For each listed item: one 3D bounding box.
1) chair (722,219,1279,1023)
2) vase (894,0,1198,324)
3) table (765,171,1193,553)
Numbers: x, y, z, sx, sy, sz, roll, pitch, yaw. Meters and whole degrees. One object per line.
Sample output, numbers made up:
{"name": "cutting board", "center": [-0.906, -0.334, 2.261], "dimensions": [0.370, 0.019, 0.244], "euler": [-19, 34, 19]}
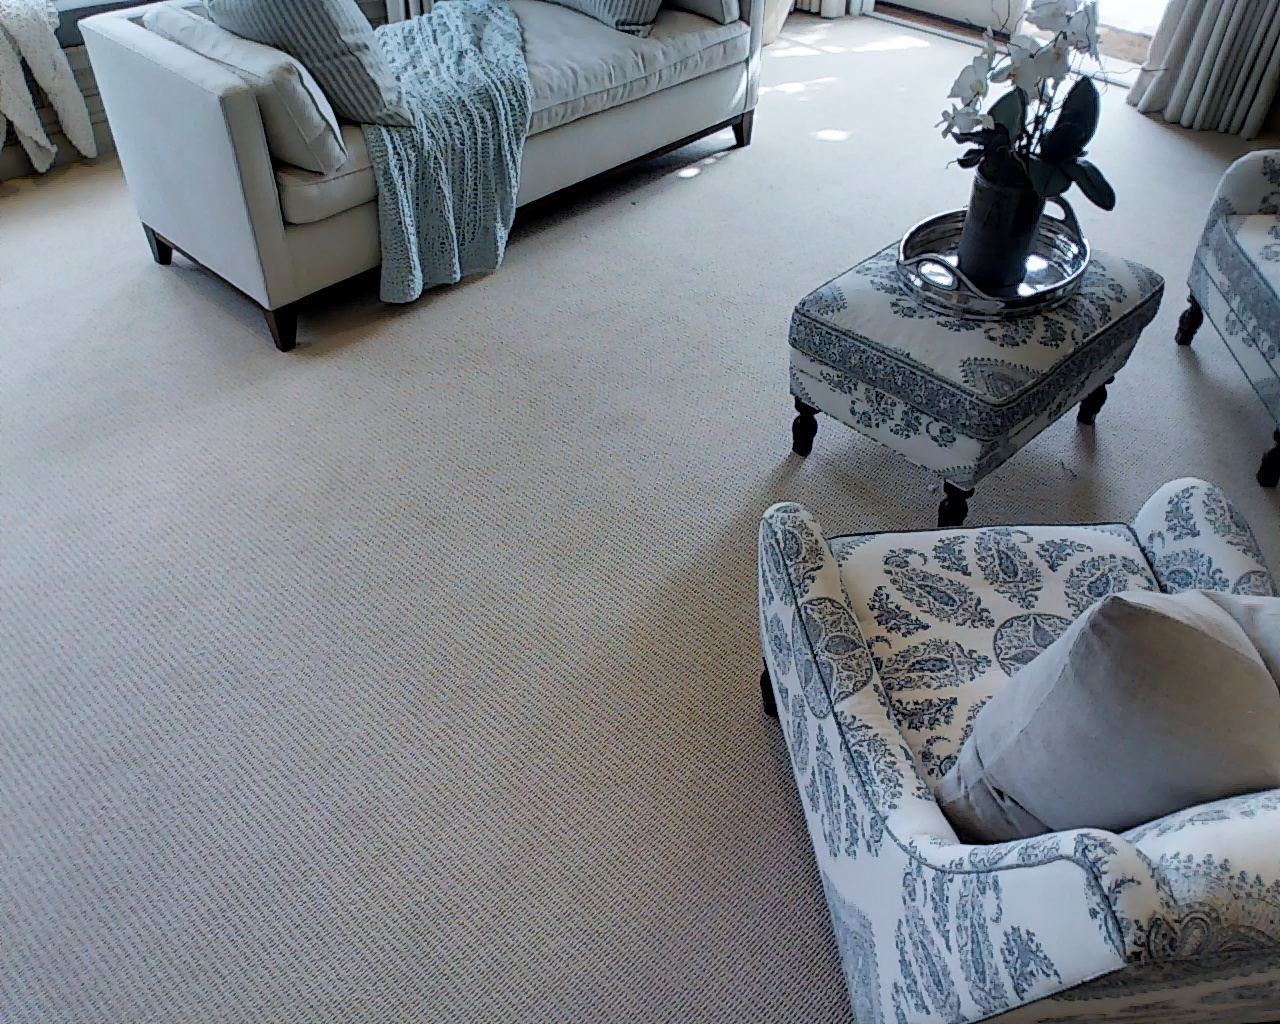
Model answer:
{"name": "chair", "center": [0.600, 0.270, 1.410], "dimensions": [0.770, 0.880, 0.990], "euler": [-4, 42, -5]}
{"name": "vase", "center": [0.780, -0.720, 2.130], "dimensions": [0.350, 0.520, 0.310], "euler": [-30, 50, -29]}
{"name": "table", "center": [0.760, -0.380, 2.460], "dimensions": [0.550, 0.420, 0.760], "euler": [34, 51, 31]}
